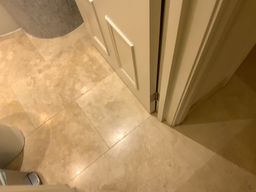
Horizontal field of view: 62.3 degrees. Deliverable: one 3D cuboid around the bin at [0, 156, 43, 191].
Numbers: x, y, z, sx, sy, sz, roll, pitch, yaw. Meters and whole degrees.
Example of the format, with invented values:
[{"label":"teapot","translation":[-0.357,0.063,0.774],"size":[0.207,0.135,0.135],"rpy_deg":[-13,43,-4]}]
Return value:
[{"label":"bin","translation":[-0.680,0.480,1.090],"size":[0.280,0.350,0.170],"rpy_deg":[-38,70,-10]}]
